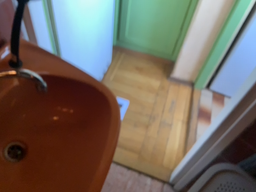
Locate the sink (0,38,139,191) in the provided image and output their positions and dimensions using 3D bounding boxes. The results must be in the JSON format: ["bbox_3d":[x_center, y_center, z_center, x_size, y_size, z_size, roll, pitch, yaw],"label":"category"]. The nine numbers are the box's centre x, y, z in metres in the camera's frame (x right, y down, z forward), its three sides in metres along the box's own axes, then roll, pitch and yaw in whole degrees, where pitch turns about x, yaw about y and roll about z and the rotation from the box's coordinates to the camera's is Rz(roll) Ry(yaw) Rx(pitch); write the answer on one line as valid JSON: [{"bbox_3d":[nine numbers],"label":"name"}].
[{"bbox_3d":[-0.270,0.140,0.590,0.440,0.200,0.560,18,53,6],"label":"sink"}]
